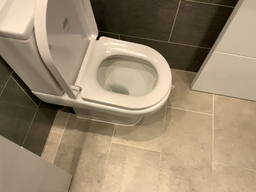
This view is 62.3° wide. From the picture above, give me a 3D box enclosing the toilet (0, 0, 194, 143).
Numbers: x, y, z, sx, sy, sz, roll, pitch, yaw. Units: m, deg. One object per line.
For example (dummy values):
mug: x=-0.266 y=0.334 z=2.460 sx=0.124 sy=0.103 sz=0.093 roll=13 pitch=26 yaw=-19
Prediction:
toilet: x=-0.120 y=-0.130 z=1.010 sx=0.600 sy=0.850 sz=0.380 roll=12 pitch=64 yaw=4
